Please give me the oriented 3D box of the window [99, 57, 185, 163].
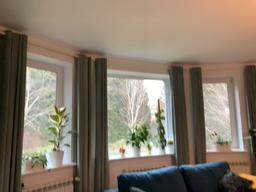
[{"bbox_3d":[0.280,0.270,4.180,1.620,1.810,0.480,3,-8,-25],"label":"window"}]
